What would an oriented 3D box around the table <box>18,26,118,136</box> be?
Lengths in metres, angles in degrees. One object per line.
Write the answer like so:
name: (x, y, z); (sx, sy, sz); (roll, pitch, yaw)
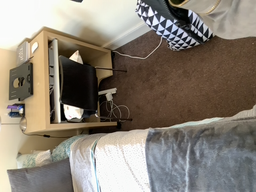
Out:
table: (-0.580, -0.070, 2.060); (0.550, 0.720, 0.830); (-16, 74, 42)
